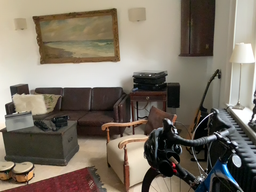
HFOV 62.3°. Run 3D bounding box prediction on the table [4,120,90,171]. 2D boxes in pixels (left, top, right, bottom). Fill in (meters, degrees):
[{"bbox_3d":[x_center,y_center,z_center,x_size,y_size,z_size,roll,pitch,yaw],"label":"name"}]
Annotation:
[{"bbox_3d":[-1.030,0.630,2.800,0.900,0.450,0.460,1,14,10],"label":"table"}]
